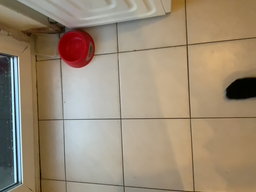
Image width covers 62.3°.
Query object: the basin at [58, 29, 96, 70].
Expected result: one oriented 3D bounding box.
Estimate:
[{"bbox_3d":[-0.270,-0.240,1.120,0.210,0.020,0.200,0,91,16],"label":"basin"}]
